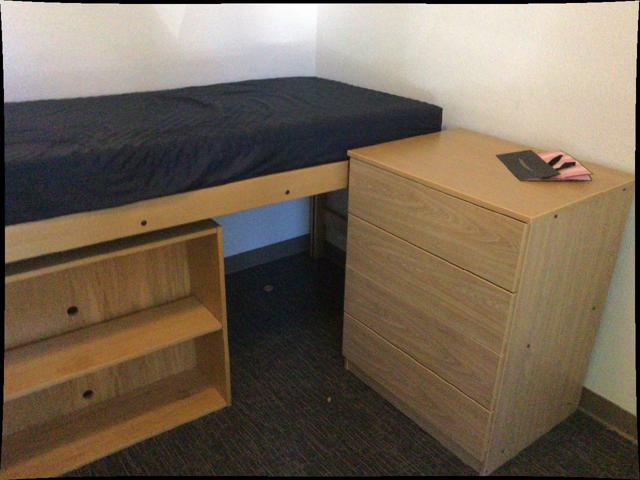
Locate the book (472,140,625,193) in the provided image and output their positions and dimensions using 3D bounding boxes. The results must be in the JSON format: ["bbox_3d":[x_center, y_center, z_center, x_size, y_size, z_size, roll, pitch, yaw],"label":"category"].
[{"bbox_3d":[0.739,-0.250,1.920,0.379,0.050,0.340,3,26,-2],"label":"book"}]

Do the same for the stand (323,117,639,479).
[{"bbox_3d":[0.539,0.170,2.140,0.649,1.011,0.810,-15,31,-33],"label":"stand"}]
